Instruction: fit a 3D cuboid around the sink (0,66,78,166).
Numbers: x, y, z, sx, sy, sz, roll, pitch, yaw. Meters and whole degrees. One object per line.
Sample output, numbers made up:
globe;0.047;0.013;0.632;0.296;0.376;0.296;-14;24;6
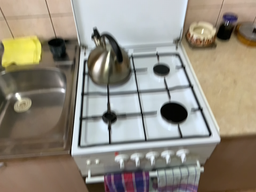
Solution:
sink;-0.430;0.070;0.930;0.360;0.150;0.410;-4;49;-3
